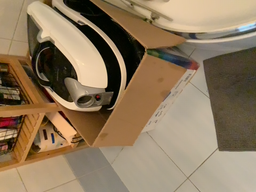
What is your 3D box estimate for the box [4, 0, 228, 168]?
[{"bbox_3d":[-0.080,-0.190,0.960,0.690,0.560,0.510,47,118,27],"label":"box"}]
